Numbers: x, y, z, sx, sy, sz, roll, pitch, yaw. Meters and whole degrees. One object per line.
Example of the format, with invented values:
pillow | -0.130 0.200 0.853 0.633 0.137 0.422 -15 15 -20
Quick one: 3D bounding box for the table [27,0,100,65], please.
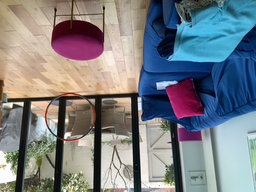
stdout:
table | -0.490 -0.540 1.750 0.440 0.400 0.440 -2 165 3
